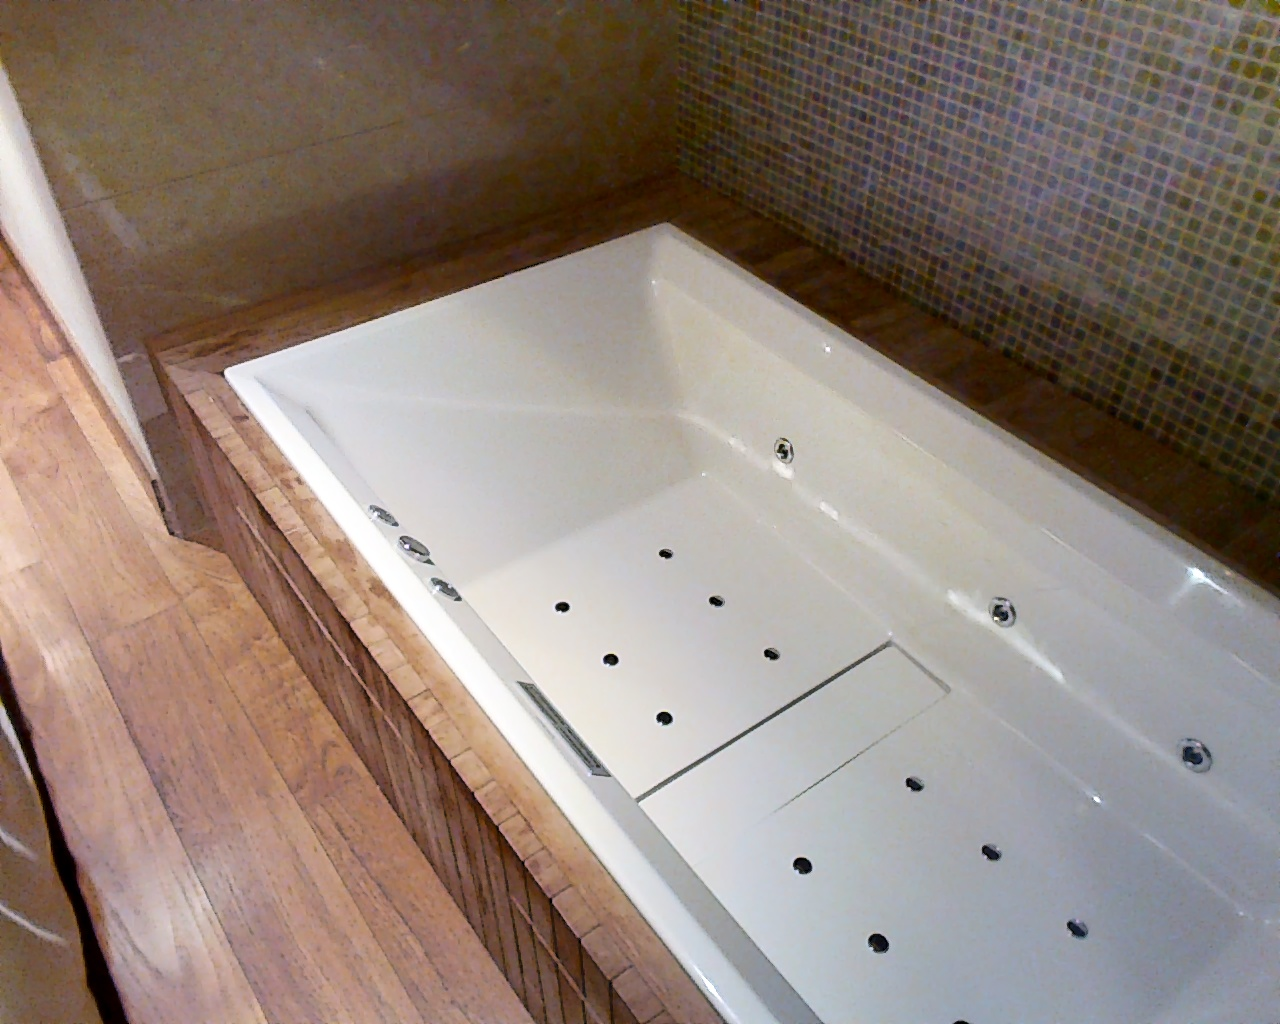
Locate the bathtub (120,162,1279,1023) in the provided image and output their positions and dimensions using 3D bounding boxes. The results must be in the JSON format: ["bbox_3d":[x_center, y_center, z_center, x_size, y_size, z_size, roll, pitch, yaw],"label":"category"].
[{"bbox_3d":[0.290,0.270,1.790,1.320,0.530,2.510,-27,49,-27],"label":"bathtub"}]
